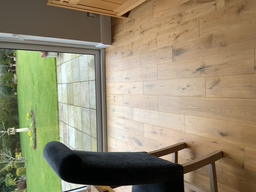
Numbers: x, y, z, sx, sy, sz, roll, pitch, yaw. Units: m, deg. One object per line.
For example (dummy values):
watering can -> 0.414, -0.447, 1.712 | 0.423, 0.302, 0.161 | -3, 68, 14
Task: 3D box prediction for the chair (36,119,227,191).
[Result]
chair -> 0.070, 0.540, 1.350 | 0.480, 1.120, 0.640 | 1, 93, 59
